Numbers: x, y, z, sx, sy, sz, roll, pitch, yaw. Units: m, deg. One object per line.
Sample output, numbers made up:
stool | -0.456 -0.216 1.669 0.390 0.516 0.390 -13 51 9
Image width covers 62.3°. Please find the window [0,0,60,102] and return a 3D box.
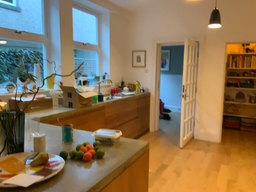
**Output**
window | -1.530 -0.820 2.650 0.340 1.720 1.400 5 8 28

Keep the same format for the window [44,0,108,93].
window | -0.880 -0.890 3.890 0.380 1.540 1.240 5 8 28

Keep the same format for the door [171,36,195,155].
door | 1.050 -0.020 4.000 0.230 2.040 0.790 4 8 22
